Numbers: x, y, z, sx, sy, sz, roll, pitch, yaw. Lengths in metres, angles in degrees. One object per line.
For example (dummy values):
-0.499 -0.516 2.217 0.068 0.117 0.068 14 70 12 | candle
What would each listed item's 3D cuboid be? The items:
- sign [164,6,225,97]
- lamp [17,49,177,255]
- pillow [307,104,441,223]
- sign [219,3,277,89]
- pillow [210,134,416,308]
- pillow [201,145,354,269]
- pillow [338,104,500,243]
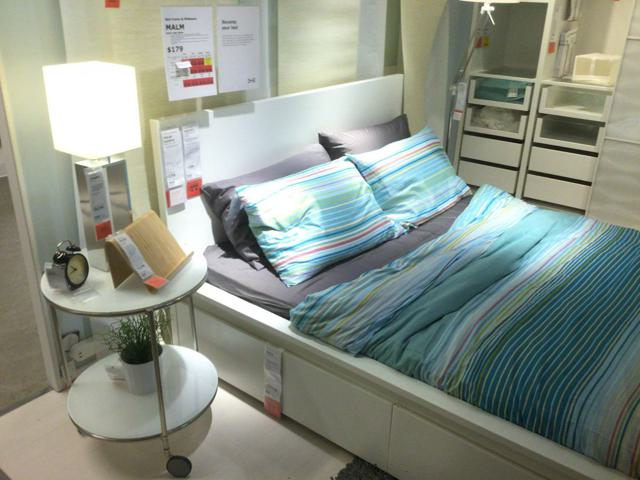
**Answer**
-0.420 -0.640 1.960 0.040 0.280 0.210 24 32 37 | sign
-0.650 -0.270 1.730 0.280 0.510 0.260 23 36 36 | lamp
0.280 -0.400 2.850 0.240 0.350 0.740 23 36 36 | pillow
-0.260 -0.720 2.140 0.040 0.270 0.230 23 36 36 | sign
0.000 -0.100 2.230 0.720 0.430 0.160 -28 -5 -40 | pillow
-0.150 -0.160 2.410 0.170 0.270 0.700 23 36 36 | pillow
0.480 -0.330 2.690 0.690 0.200 0.430 -28 82 -41 | pillow
